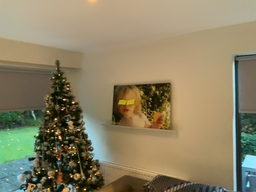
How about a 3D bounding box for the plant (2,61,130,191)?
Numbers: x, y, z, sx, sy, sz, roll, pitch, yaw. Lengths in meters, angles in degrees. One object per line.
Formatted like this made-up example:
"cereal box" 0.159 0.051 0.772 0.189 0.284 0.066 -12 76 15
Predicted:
"plant" -0.760 0.650 2.770 1.080 1.980 1.150 0 1 35
